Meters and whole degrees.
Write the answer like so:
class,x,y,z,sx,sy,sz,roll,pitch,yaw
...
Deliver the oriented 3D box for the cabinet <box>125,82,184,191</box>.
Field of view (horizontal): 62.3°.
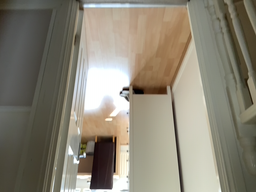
class,x,y,z,sx,sy,sz,roll,pitch,yaw
cabinet,0.230,0.630,2.540,0.520,1.280,0.970,0,154,-1
